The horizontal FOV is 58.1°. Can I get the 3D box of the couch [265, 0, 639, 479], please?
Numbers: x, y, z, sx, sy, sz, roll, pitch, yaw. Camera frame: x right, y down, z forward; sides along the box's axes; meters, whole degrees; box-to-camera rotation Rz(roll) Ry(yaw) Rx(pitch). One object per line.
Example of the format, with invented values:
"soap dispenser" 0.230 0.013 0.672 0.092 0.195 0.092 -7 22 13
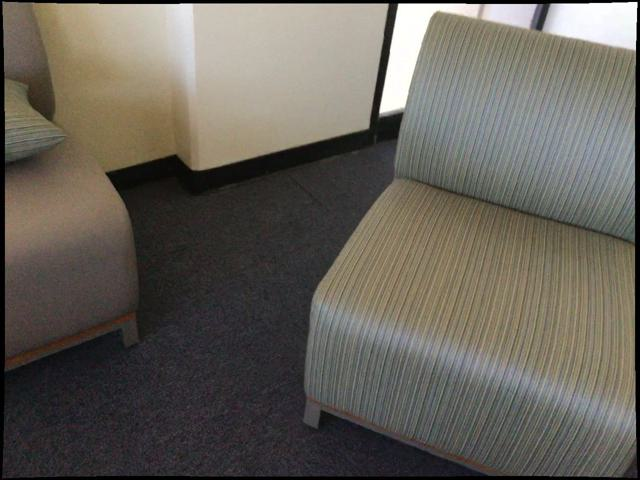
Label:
"couch" 0.409 0.020 1.360 0.758 0.901 0.840 17 37 14
